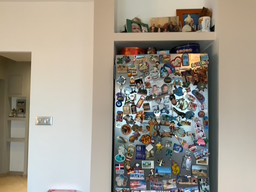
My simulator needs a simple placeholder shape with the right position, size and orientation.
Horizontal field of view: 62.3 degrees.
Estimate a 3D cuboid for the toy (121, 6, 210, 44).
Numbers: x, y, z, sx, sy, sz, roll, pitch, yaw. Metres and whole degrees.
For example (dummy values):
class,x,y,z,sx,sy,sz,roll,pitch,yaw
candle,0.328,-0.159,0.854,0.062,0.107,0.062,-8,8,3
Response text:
class,x,y,z,sx,sy,sz,roll,pitch,yaw
toy,0.260,-0.500,1.530,0.580,0.170,0.230,1,-3,9
